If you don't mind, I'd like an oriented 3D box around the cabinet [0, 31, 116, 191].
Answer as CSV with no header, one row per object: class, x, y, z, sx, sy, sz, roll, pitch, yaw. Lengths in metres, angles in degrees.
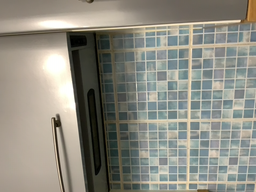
cabinet,-0.310,0.130,0.640,0.310,0.470,0.590,-74,-19,-74
